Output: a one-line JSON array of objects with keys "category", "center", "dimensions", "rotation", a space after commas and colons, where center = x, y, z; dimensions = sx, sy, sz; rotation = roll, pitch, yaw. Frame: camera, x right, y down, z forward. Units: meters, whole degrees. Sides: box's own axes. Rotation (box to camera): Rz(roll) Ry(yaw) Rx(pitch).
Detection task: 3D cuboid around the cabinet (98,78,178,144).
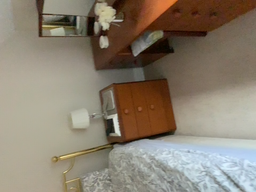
[{"category": "cabinet", "center": [0.090, 0.160, 2.290], "dimensions": [0.470, 0.640, 0.560], "rotation": [-21, 78, 63]}]
